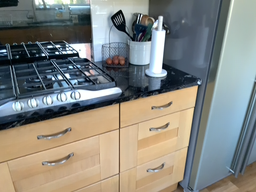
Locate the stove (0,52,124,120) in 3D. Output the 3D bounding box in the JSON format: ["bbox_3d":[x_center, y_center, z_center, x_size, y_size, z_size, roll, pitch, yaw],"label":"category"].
[{"bbox_3d":[-0.450,-0.090,1.060,0.670,0.060,0.580,-12,30,-26],"label":"stove"}]
